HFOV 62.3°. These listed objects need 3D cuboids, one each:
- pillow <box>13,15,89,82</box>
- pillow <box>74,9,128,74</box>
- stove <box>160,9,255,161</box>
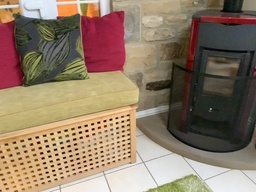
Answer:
[{"bbox_3d":[-0.480,-0.310,1.370,0.380,0.370,0.140,-10,17,-16],"label":"pillow"},{"bbox_3d":[-0.190,-0.400,1.550,0.340,0.410,0.170,-9,29,-16],"label":"pillow"},{"bbox_3d":[0.690,-0.140,1.660,0.670,0.920,0.630,11,30,21],"label":"stove"}]
